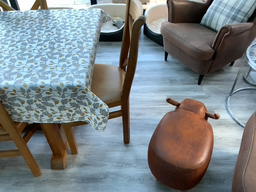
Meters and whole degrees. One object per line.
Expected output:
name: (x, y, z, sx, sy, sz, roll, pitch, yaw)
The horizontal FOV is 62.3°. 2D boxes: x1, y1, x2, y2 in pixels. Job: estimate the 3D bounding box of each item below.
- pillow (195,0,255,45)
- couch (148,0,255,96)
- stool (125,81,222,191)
pillow: (0.930, -0.820, 2.050, 0.220, 0.380, 0.470, -31, 71, -9)
couch: (0.820, -0.740, 2.080, 0.930, 0.980, 0.780, -19, 45, -19)
stool: (0.310, 0.280, 1.410, 0.390, 0.380, 0.650, 19, 45, 20)
